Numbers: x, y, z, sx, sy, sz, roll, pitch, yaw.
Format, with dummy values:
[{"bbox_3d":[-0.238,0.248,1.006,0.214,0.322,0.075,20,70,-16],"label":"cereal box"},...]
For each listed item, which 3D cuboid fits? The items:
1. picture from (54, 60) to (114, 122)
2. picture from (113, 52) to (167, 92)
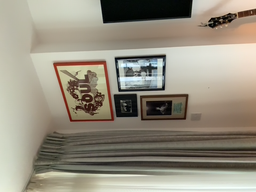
[{"bbox_3d":[-0.370,-0.020,1.890,0.030,0.430,0.610,-85,-7,-57],"label":"picture"},{"bbox_3d":[0.100,-0.190,1.740,0.030,0.420,0.340,-85,-7,-55],"label":"picture"}]
